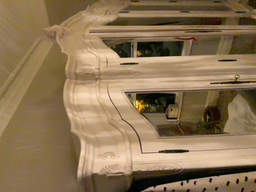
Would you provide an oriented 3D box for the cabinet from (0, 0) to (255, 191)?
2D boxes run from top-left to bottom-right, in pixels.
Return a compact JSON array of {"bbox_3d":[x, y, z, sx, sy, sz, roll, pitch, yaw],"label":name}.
[{"bbox_3d":[0.510,-0.310,1.940,2.540,2.270,0.700,-96,5,-54],"label":"cabinet"}]
